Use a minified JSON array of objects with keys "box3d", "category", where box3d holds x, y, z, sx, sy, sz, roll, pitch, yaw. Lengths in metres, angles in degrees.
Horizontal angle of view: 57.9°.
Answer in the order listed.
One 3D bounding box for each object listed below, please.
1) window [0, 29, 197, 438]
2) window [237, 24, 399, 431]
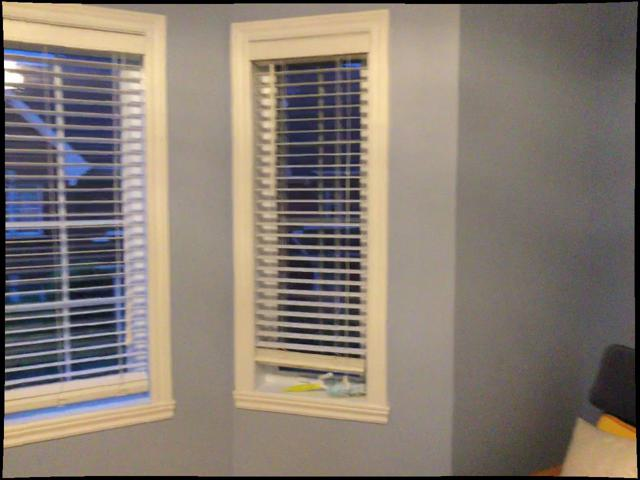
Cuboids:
[{"box3d":[-1.149,-0.010,1.970,1.359,1.331,0.260,-4,7,-24],"category":"window"},{"box3d":[-0.020,-0.050,2.150,0.420,1.301,0.490,-4,7,-24],"category":"window"}]
